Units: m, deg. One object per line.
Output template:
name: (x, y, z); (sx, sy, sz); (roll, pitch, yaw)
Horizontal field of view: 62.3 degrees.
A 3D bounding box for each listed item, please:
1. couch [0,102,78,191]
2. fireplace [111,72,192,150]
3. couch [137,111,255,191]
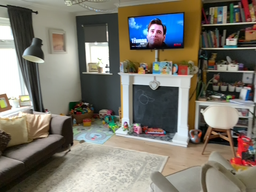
couch: (-1.860, 0.770, 2.400); (1.050, 0.700, 2.710); (6, 14, 24)
fireplace: (0.390, 0.210, 3.790); (1.350, 1.190, 0.390); (5, 14, 24)
couch: (0.650, 0.770, 1.670); (0.790, 0.990, 0.990); (-6, 14, -24)
